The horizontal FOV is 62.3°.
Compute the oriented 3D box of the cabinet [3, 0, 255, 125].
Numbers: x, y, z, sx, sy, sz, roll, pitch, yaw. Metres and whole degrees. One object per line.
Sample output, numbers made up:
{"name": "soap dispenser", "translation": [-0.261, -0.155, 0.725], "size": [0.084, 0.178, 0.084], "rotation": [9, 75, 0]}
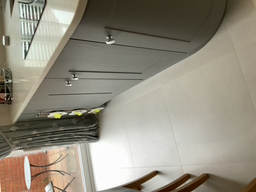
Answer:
{"name": "cabinet", "translation": [-0.300, -0.210, 1.580], "size": [2.010, 0.900, 0.400], "rotation": [-27, 71, 51]}
